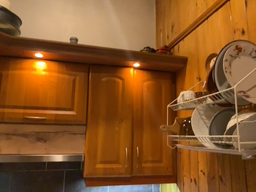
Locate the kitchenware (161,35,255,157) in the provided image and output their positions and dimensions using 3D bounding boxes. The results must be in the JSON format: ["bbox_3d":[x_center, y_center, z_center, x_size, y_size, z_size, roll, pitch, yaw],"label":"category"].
[{"bbox_3d":[0.380,0.040,0.950,0.260,0.390,0.520,3,-10,-16],"label":"kitchenware"}]
